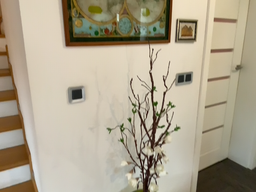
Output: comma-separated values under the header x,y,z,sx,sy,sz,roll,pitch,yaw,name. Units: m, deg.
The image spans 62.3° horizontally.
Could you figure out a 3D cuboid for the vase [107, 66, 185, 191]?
x,y,z,sx,sy,sz,roll,pitch,yaw,name
0.080,0.470,1.300,0.290,1.250,0.310,-8,18,-26,vase
